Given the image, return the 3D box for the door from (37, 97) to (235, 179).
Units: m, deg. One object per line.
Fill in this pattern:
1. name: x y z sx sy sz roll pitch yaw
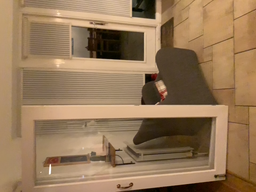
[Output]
1. door: 0.180 0.330 1.930 0.070 1.850 0.630 171 99 -74

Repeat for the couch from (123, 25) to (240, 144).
1. couch: 0.500 -0.110 2.590 1.010 0.810 0.950 109 156 -47
